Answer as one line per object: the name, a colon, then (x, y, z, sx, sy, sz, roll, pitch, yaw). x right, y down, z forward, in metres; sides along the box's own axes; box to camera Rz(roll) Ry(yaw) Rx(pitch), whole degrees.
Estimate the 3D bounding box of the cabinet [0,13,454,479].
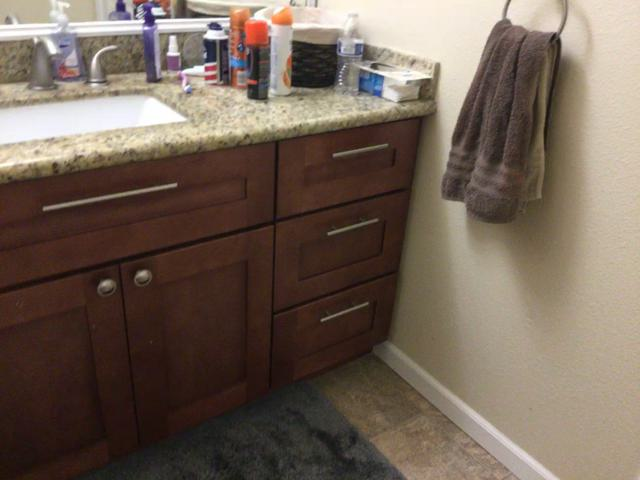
cabinet: (-0.540, 0.050, 1.410, 1.680, 1.080, 0.550, -15, 31, -33)
